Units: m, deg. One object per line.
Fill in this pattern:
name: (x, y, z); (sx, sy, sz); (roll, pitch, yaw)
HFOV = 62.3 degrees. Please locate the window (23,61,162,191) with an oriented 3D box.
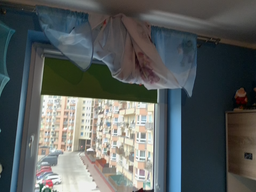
window: (-0.230, 0.440, 1.700); (1.040, 1.290, 0.130); (5, -8, -21)
